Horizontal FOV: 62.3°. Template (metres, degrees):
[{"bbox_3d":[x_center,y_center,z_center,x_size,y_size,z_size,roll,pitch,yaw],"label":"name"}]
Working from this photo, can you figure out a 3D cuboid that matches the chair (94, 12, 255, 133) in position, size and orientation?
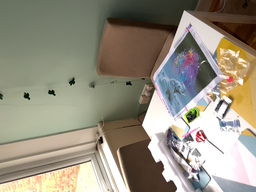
[{"bbox_3d":[0.300,-0.210,1.510,0.590,0.890,0.510,56,143,42],"label":"chair"}]
